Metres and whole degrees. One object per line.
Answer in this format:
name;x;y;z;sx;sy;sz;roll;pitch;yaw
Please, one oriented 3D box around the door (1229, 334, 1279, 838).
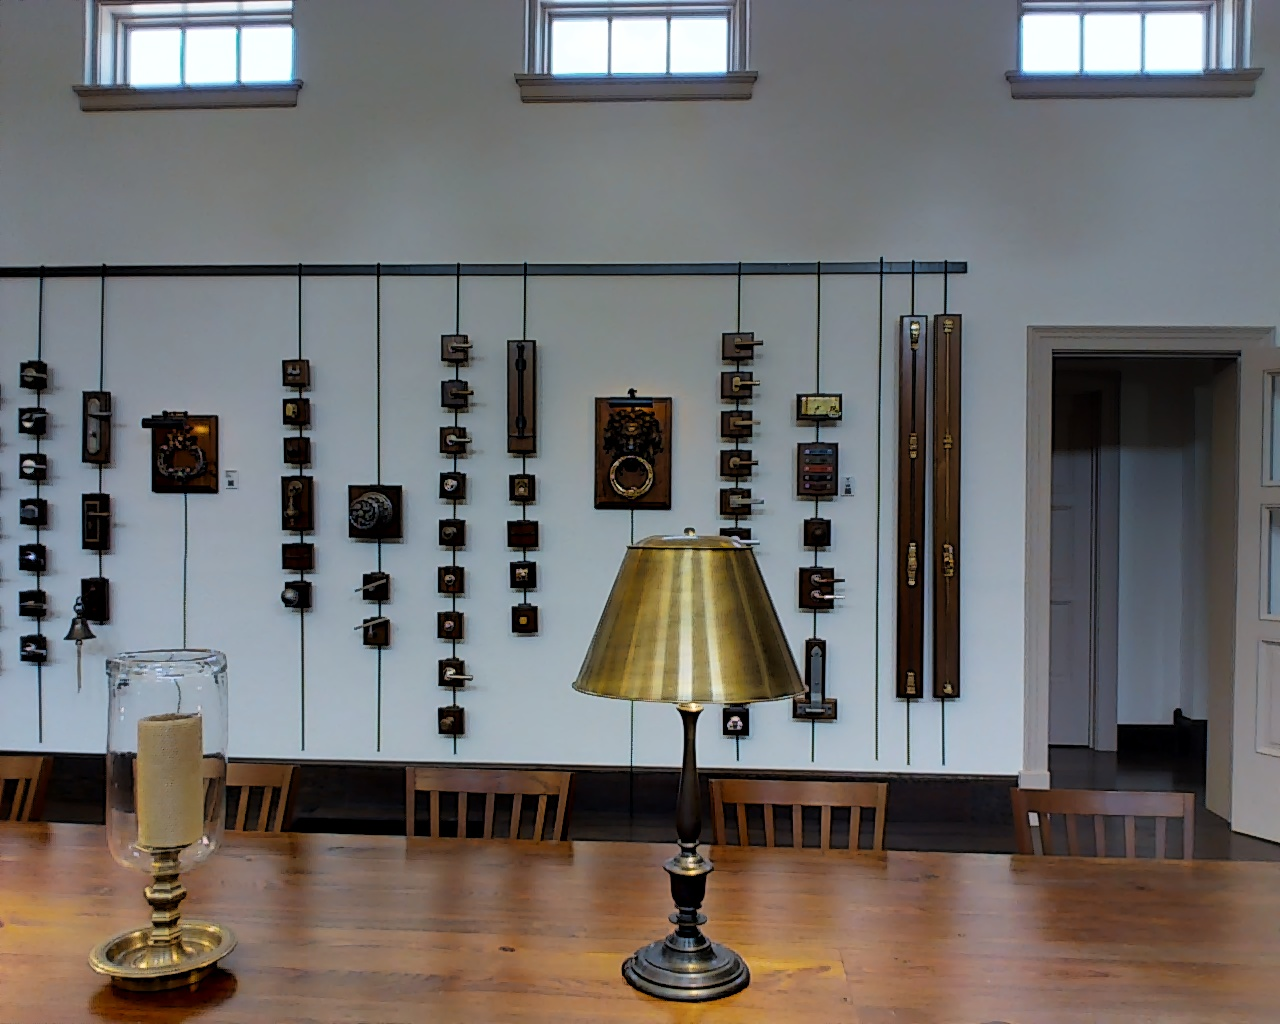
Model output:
door;3.120;0.340;4.720;0.140;2.300;0.960;0;0;-32
